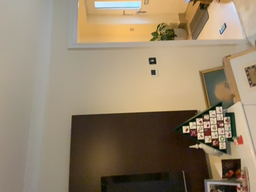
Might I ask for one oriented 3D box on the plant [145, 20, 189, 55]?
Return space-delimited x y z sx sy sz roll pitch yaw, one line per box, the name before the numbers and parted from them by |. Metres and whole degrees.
plant | 0.790 -1.220 4.460 0.430 0.780 0.540 98 169 -69
